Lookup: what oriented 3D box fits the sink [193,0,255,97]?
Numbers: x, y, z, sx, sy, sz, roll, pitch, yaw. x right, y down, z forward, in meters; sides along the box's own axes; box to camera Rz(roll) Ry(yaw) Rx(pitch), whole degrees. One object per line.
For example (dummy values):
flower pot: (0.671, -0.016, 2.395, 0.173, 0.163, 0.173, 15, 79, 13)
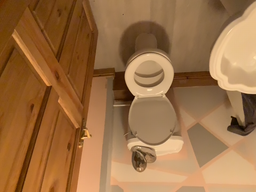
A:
sink: (0.620, -0.270, 1.000, 0.470, 0.210, 0.590, -2, 142, 3)
